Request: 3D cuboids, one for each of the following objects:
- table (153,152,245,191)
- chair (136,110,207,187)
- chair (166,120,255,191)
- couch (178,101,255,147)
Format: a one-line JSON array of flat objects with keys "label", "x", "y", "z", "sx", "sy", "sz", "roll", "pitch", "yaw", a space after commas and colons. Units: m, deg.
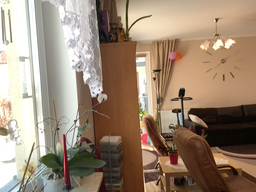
[{"label": "table", "x": 0.860, "y": 1.070, "z": 2.730, "sx": 0.980, "sy": 0.460, "sz": 0.580, "roll": -4, "pitch": 3, "yaw": -1}, {"label": "chair", "x": 0.640, "y": 0.780, "z": 3.390, "sx": 0.950, "sy": 0.990, "sz": 0.690, "roll": -4, "pitch": 3, "yaw": 1}, {"label": "chair", "x": 0.900, "y": 0.820, "z": 2.050, "sx": 0.850, "sy": 1.020, "sz": 0.660, "roll": -4, "pitch": 3, "yaw": -7}, {"label": "couch", "x": 2.520, "y": 0.640, "z": 5.260, "sx": 2.290, "sy": 0.820, "sz": 0.980, "roll": -4, "pitch": 3, "yaw": -3}]
